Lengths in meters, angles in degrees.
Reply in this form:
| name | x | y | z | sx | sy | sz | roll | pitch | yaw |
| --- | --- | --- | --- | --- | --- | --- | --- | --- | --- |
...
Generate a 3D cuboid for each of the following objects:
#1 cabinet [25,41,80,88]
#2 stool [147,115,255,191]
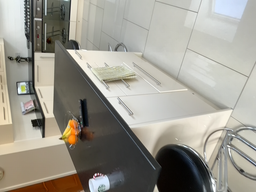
| name | x | y | z | sx | sy | sz | roll | pitch | yaw |
| --- | --- | --- | --- | --- | --- | --- | --- | --- | --- |
| cabinet | -1.550 | -0.650 | 4.340 | 0.580 | 0.920 | 0.730 | 45 | 132 | 47 |
| stool | 0.540 | 0.400 | 1.230 | 0.360 | 0.710 | 0.360 | 45 | 131 | 47 |
